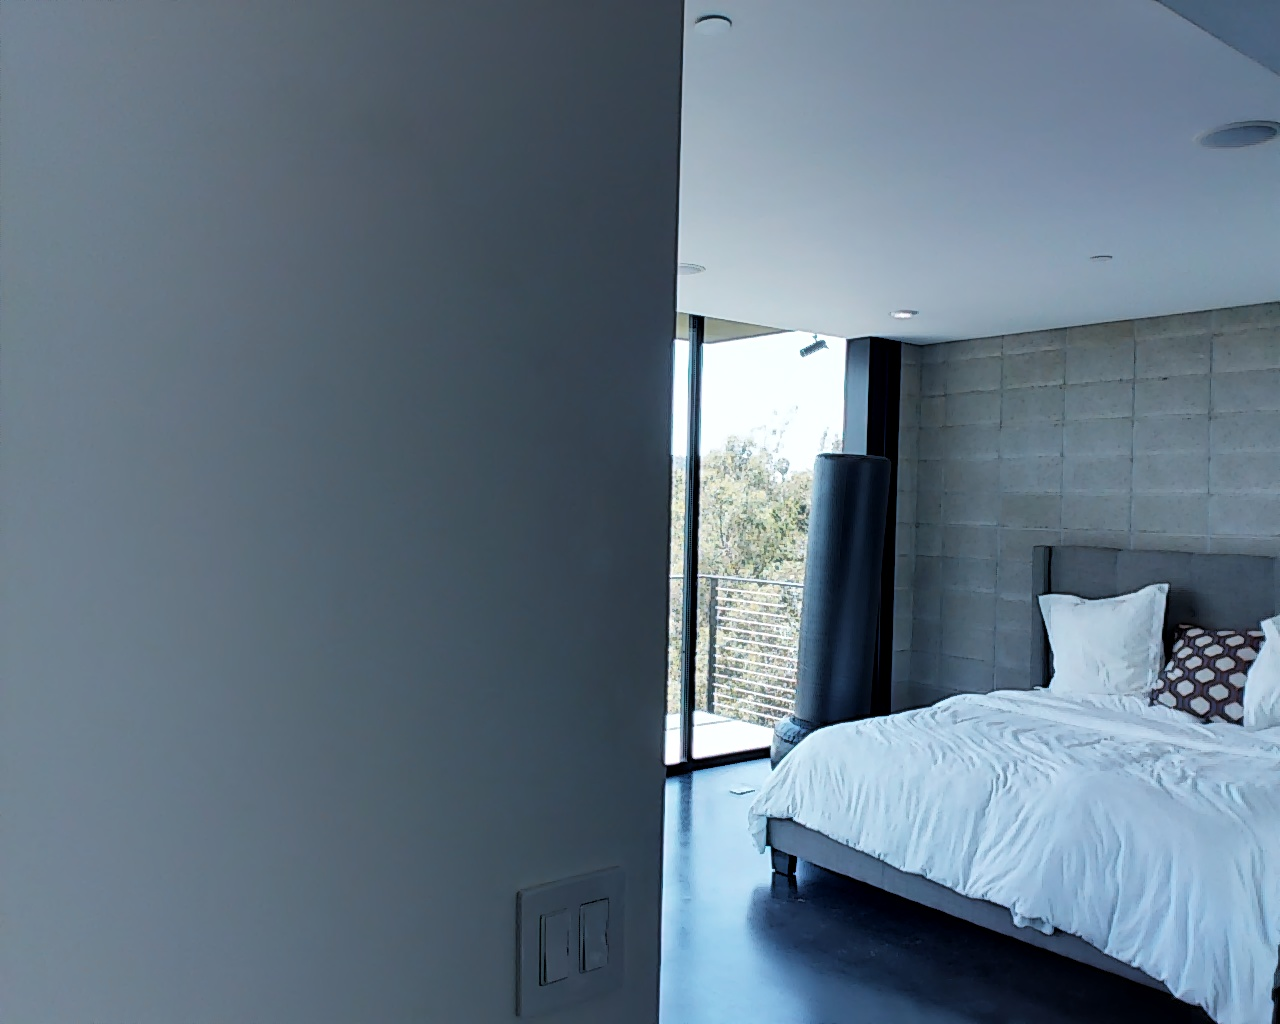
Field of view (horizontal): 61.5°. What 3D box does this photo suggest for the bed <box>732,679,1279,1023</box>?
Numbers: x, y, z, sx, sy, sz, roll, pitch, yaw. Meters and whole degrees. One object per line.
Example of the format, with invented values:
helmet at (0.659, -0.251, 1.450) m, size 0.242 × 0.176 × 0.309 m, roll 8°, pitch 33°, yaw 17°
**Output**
bed at (1.630, 1.250, 4.350) m, size 1.410 × 0.740 × 2.150 m, roll 1°, pitch 0°, yaw -37°
